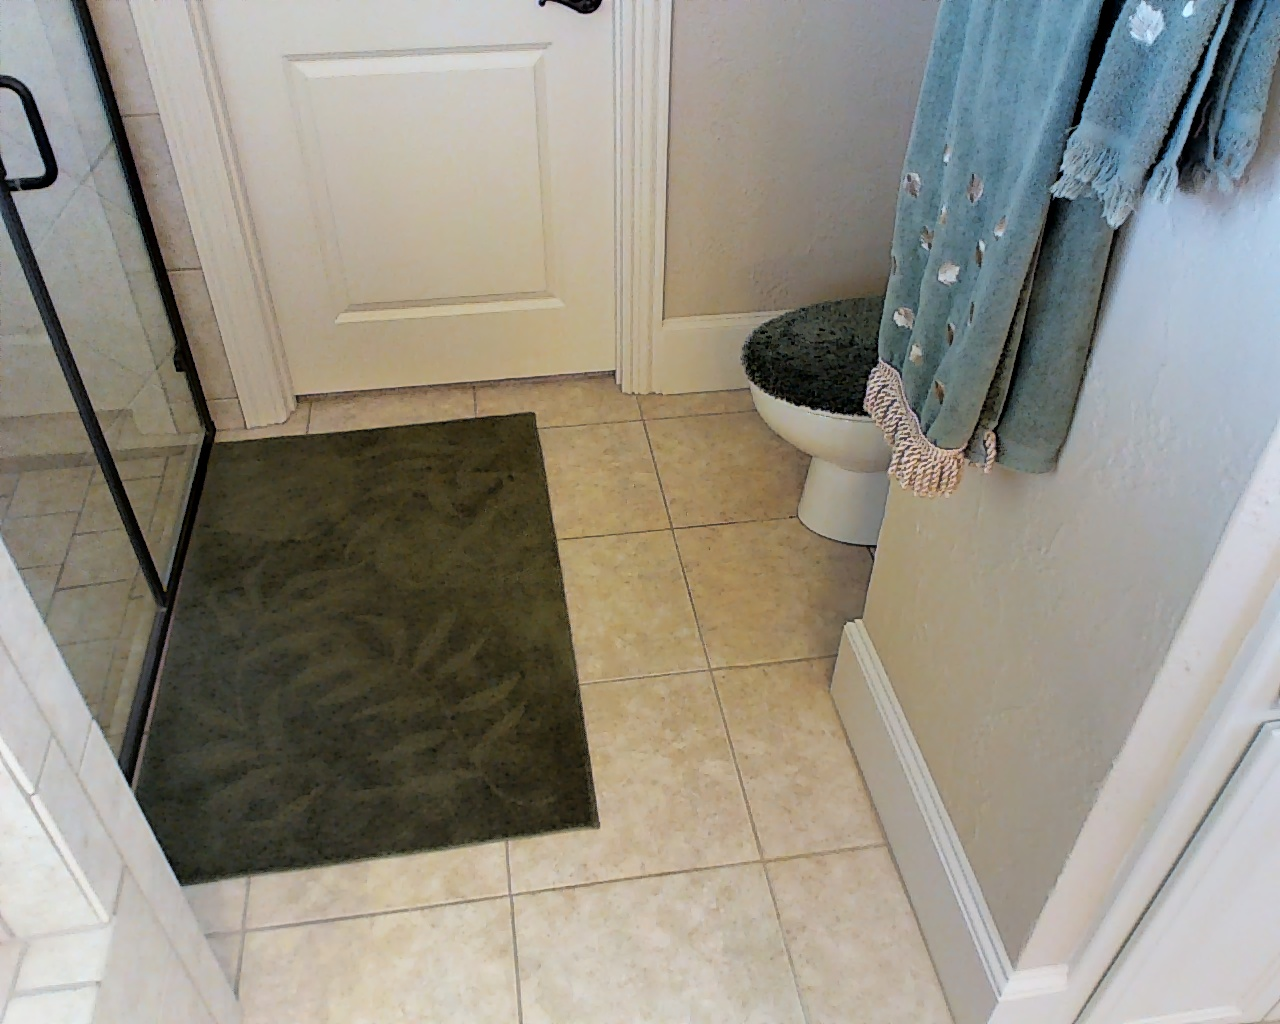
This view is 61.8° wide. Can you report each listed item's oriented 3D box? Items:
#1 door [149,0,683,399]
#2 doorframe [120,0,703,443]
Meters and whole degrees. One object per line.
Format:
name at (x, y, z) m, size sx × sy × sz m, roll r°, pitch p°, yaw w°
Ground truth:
door at (-0.420, -1.280, 1.860) m, size 1.010 × 2.470 × 0.090 m, roll -6°, pitch 42°, yaw -6°
doorframe at (-0.420, -1.240, 1.860) m, size 1.080 × 2.600 × 0.130 m, roll -6°, pitch 42°, yaw -6°
